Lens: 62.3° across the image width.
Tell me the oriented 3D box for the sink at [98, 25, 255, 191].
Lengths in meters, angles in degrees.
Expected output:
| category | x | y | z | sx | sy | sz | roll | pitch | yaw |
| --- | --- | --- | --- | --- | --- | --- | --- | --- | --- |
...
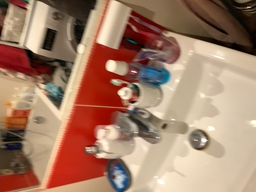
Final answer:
| category | x | y | z | sx | sy | sz | roll | pitch | yaw |
| --- | --- | --- | --- | --- | --- | --- | --- | --- | --- |
| sink | 0.190 | 0.150 | 0.670 | 0.460 | 0.150 | 0.620 | 33 | 107 | 41 |
